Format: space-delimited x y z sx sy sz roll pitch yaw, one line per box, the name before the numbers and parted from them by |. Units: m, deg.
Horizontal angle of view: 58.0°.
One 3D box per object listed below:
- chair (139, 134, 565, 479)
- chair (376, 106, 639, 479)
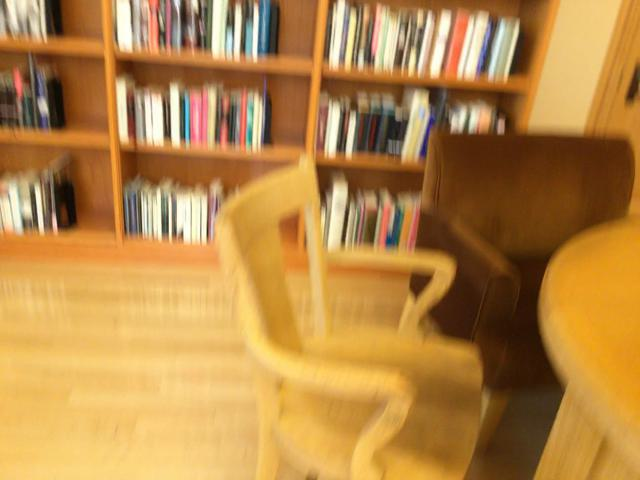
chair | 0.090 0.320 1.330 0.670 0.920 0.640 13 25 20
chair | 0.780 0.110 1.880 0.880 0.910 0.800 -2 24 -15
